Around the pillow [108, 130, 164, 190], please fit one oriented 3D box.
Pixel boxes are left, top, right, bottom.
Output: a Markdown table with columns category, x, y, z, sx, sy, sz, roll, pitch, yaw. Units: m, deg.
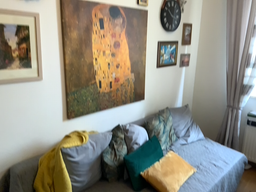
| category | x | y | z | sx | sy | sz | roll | pitch | yaw |
| --- | --- | --- | --- | --- | --- | --- | --- | --- | --- |
| pillow | 0.090 | 0.520 | 1.830 | 0.200 | 0.220 | 0.580 | 11 | 18 | 33 |

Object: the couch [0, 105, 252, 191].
| category | x | y | z | sx | sy | sz | roll | pitch | yaw |
| --- | --- | --- | --- | --- | --- | --- | --- | --- | --- |
| couch | 0.190 | 0.710 | 1.850 | 0.950 | 0.680 | 2.080 | 15 | 20 | 42 |

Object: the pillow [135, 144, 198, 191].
| category | x | y | z | sx | sy | sz | roll | pitch | yaw |
| --- | --- | --- | --- | --- | --- | --- | --- | --- | --- |
| pillow | 0.340 | 0.630 | 1.770 | 0.310 | 0.170 | 0.570 | 11 | 17 | 31 |
